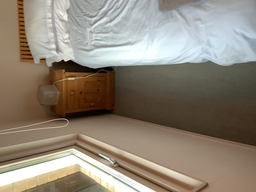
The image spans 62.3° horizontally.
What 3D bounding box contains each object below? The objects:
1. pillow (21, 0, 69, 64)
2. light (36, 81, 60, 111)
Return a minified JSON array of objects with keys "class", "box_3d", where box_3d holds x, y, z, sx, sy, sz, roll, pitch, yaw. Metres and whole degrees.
[{"class":"pillow","box_3d":[-0.790,-0.670,2.000,0.430,0.250,0.700,6,98,47]},{"class":"light","box_3d":[-0.800,-0.010,2.120,0.210,0.150,0.270,8,100,46]}]
